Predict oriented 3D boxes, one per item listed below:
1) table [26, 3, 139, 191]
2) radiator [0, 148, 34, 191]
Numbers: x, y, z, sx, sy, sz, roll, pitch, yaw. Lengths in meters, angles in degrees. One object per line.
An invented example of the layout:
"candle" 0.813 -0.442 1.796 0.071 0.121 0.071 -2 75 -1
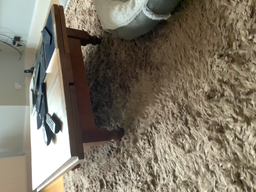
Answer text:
"table" -0.380 0.090 1.270 0.890 0.280 0.740 -43 54 47
"radiator" -1.520 1.170 2.630 0.160 0.620 0.940 -42 55 48
